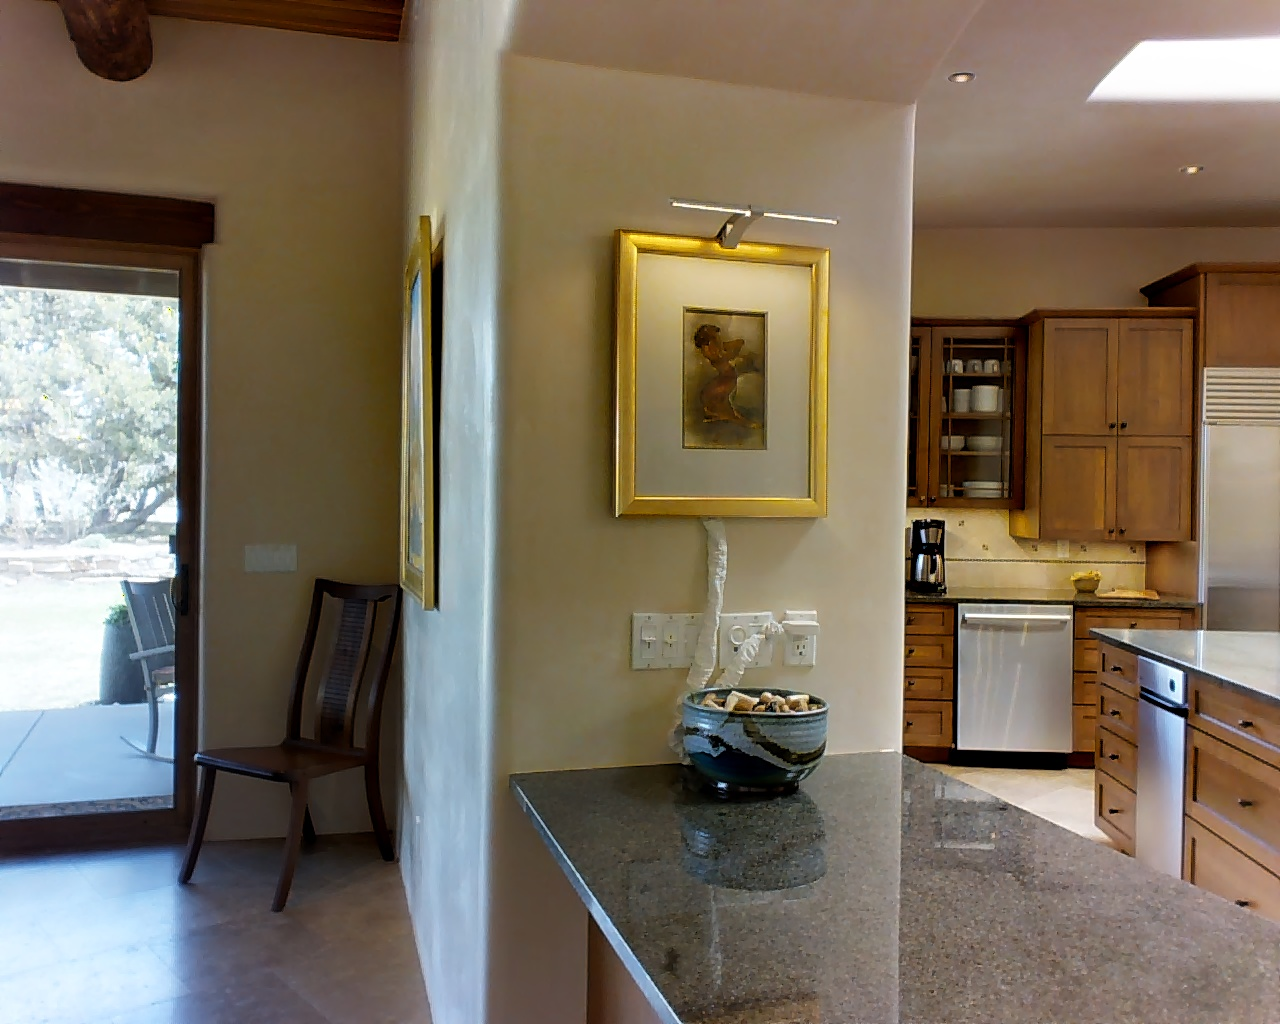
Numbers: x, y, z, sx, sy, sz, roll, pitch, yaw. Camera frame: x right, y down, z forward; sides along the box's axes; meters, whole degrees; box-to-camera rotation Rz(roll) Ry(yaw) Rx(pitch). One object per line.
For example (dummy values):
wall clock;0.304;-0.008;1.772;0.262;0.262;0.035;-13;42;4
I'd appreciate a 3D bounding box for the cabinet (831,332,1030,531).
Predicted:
cabinet;1.670;-0.460;6.240;1.040;1.110;0.400;1;1;4
